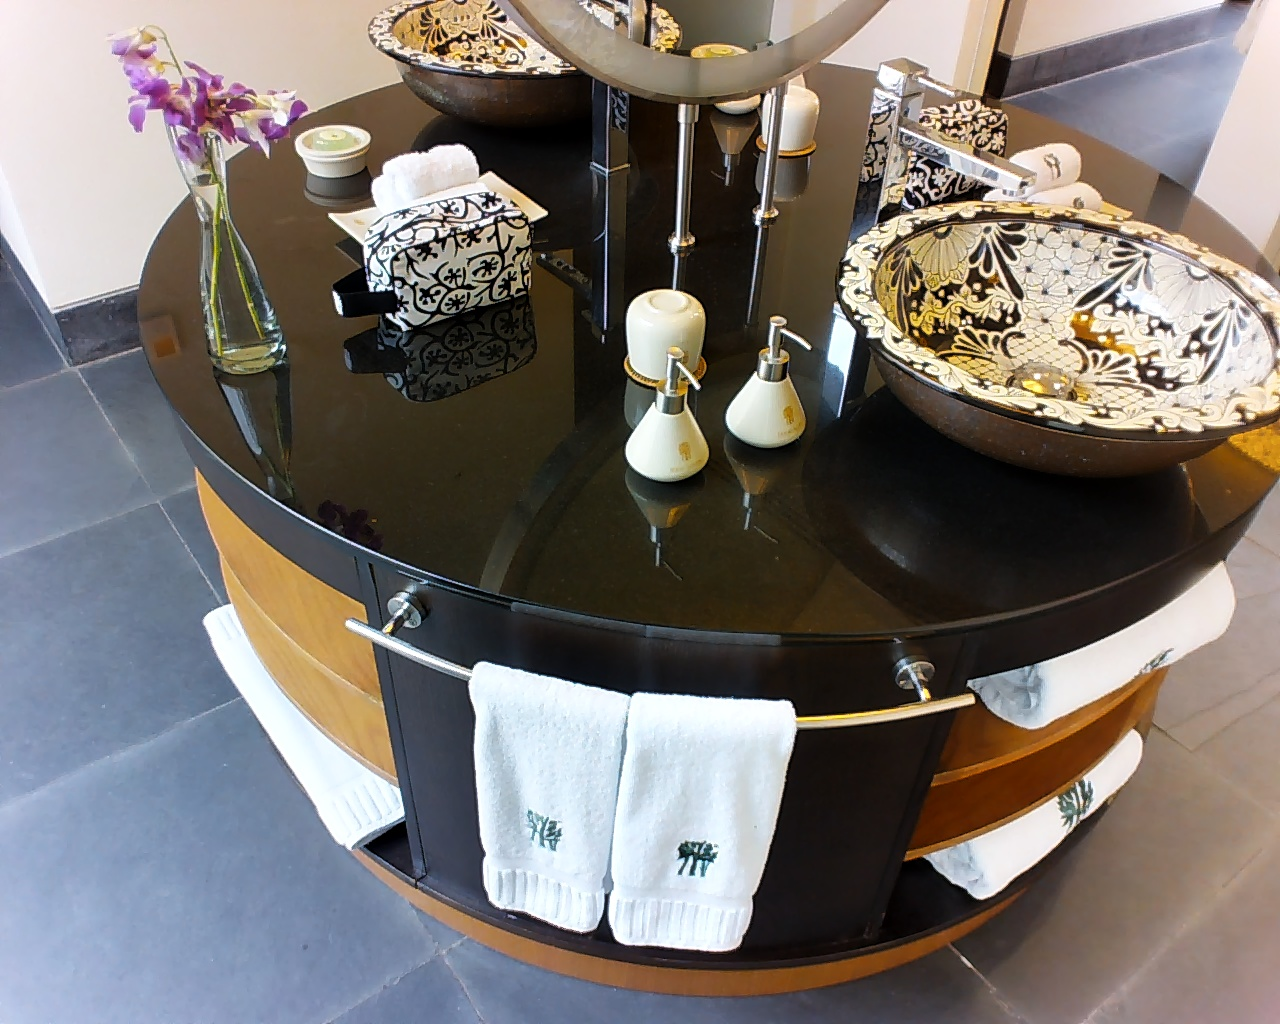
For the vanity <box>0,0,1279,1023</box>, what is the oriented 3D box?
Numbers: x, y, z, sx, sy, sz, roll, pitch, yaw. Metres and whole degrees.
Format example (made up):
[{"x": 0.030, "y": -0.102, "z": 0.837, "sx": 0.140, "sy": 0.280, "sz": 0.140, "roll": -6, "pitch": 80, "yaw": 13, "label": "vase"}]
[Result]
[{"x": 0.050, "y": -0.140, "z": 1.780, "sx": 1.550, "sy": 0.800, "sz": 1.710, "roll": -27, "pitch": 49, "yaw": -29, "label": "vanity"}]

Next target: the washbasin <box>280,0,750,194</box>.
[{"x": -0.220, "y": -0.800, "z": 1.860, "sx": 0.580, "sy": 0.160, "sz": 0.560, "roll": -26, "pitch": 49, "yaw": -28, "label": "washbasin"}]

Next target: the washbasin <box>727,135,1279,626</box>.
[{"x": 0.480, "y": -0.200, "z": 1.200, "sx": 0.530, "sy": 0.150, "sz": 0.540, "roll": -25, "pitch": 48, "yaw": -28, "label": "washbasin"}]
